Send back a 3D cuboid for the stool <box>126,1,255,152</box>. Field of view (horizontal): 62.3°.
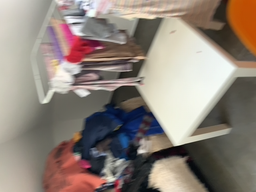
[{"bbox_3d":[0.410,-0.120,1.350,0.620,0.470,0.620,61,141,36],"label":"stool"}]
